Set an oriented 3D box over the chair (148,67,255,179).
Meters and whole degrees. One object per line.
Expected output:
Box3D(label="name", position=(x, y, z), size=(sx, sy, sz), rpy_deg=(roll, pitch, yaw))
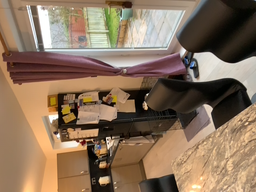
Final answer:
Box3D(label="chair", position=(0.730, 0.150, 1.500), size=(0.370, 0.990, 0.600), rpy_deg=(107, 154, -54))
